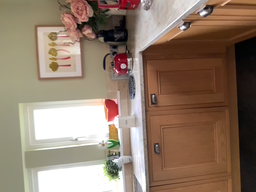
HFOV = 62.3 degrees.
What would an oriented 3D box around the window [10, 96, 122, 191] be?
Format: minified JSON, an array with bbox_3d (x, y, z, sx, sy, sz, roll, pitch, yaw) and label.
[{"bbox_3d":[-0.600,1.430,2.370,0.340,1.070,2.800,180,87,-79],"label":"window"}]

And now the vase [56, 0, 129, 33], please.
[{"bbox_3d":[-0.320,-0.800,1.910,0.430,0.570,0.320,167,100,-79],"label":"vase"}]
